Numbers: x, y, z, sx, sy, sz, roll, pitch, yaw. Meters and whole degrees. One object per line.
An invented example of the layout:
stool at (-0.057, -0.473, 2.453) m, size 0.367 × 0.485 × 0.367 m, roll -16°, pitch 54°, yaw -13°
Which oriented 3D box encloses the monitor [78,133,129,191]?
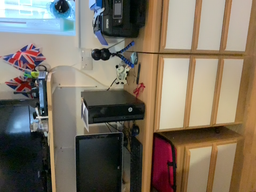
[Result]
monitor at (-0.170, 0.500, 1.470) m, size 0.040 × 0.340 × 0.490 m, roll -136°, pitch 46°, yaw -72°
